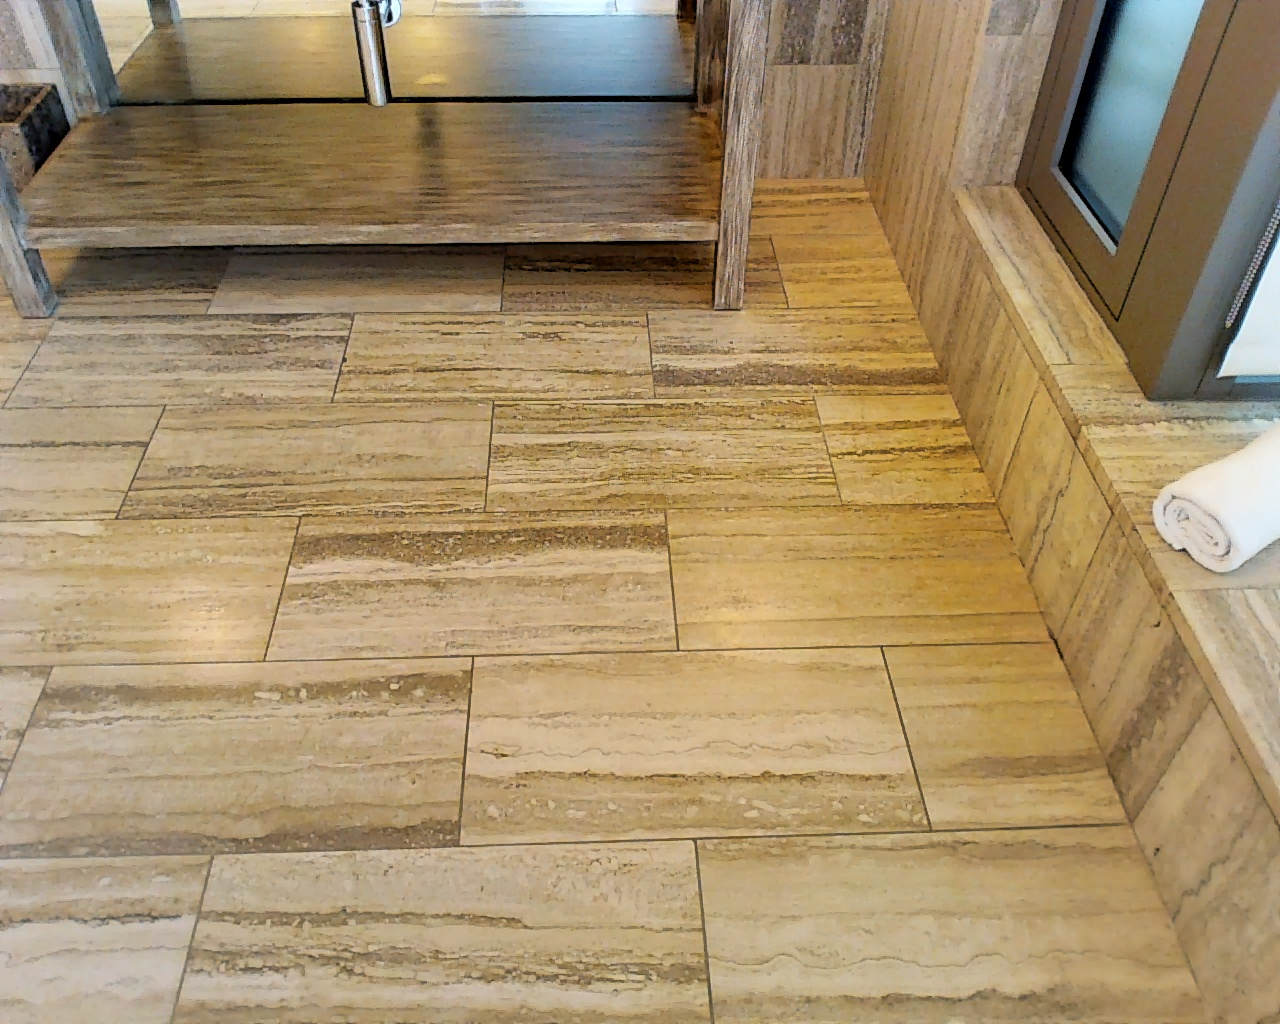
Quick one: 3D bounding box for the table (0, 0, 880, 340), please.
[{"bbox_3d":[-1.410,-0.950,2.240,3.580,0.790,0.930,-2,43,-3],"label":"table"}]
